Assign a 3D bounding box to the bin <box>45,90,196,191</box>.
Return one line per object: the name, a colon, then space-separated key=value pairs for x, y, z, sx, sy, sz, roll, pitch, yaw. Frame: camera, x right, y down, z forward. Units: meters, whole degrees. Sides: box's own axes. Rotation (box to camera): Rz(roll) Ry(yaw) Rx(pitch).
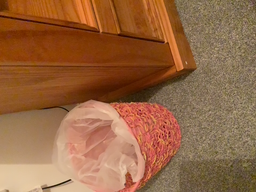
bin: x=-0.030 y=0.160 z=0.700 sx=0.350 sy=0.280 sz=0.250 roll=-21 pitch=82 yaw=39
